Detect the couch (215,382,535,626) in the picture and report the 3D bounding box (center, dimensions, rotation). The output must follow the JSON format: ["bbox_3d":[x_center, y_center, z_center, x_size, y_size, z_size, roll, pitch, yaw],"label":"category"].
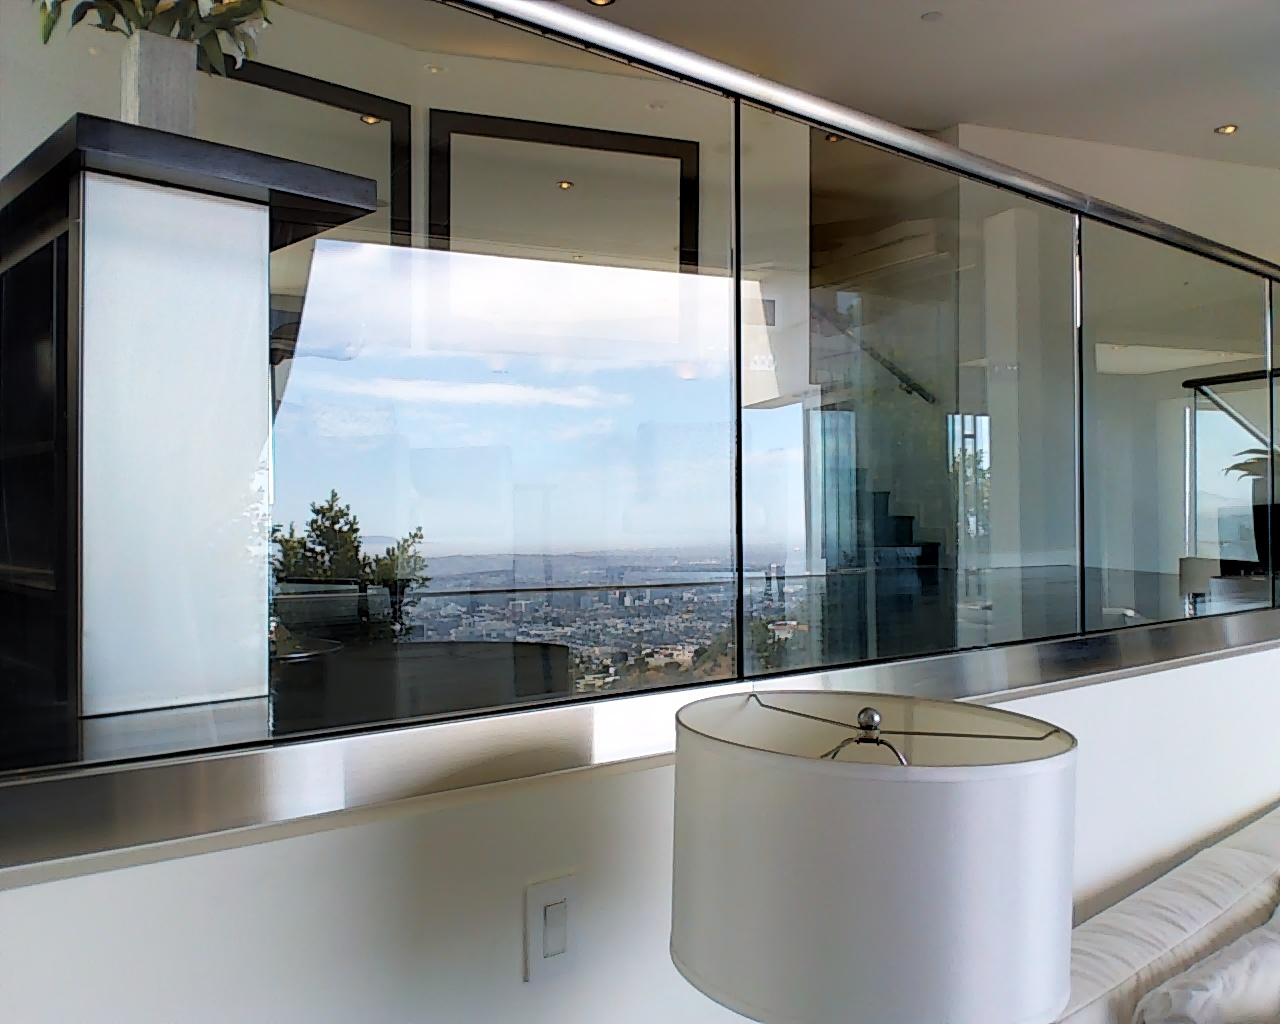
[{"bbox_3d":[-1.050,-0.030,4.390,0.910,0.860,0.890,0,0,26],"label":"couch"}]

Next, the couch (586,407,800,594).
[{"bbox_3d":[0.260,-0.050,5.180,0.940,0.820,0.880,0,0,4],"label":"couch"}]

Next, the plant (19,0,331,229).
[{"bbox_3d":[-0.980,-0.990,2.270,0.500,0.620,0.410,0,0,-42],"label":"plant"}]

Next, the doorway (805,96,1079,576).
[{"bbox_3d":[1.850,-1.000,6.480,1.840,2.730,0.130,0,0,-19],"label":"doorway"}]
